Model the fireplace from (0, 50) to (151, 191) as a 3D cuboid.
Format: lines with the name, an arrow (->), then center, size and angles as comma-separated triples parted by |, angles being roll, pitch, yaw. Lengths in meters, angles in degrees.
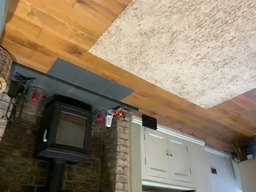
fireplace -> -0.640, 0.670, 2.120 | 1.750, 1.500, 0.660 | 23, 142, -33
